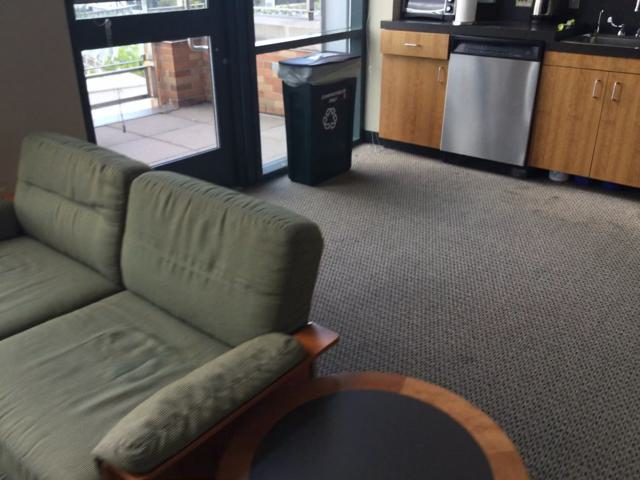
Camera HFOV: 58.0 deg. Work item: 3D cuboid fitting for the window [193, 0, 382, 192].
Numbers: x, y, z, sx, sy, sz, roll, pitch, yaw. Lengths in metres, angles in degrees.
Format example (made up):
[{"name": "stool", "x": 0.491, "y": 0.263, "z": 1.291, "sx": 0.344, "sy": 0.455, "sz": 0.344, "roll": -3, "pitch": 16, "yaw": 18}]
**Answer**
[{"name": "window", "x": -0.160, "y": -1.680, "z": 3.590, "sx": 0.370, "sy": 2.470, "sz": 1.310, "roll": 20, "pitch": 33, "yaw": 39}]
